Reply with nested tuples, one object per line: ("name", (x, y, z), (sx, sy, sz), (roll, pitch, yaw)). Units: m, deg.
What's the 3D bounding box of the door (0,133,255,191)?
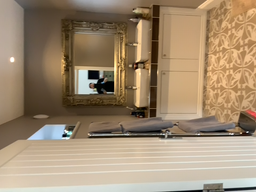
("door", (0.300, 0.310, 1.070), (0.850, 1.960, 0.040), (-158, 70, -81))
